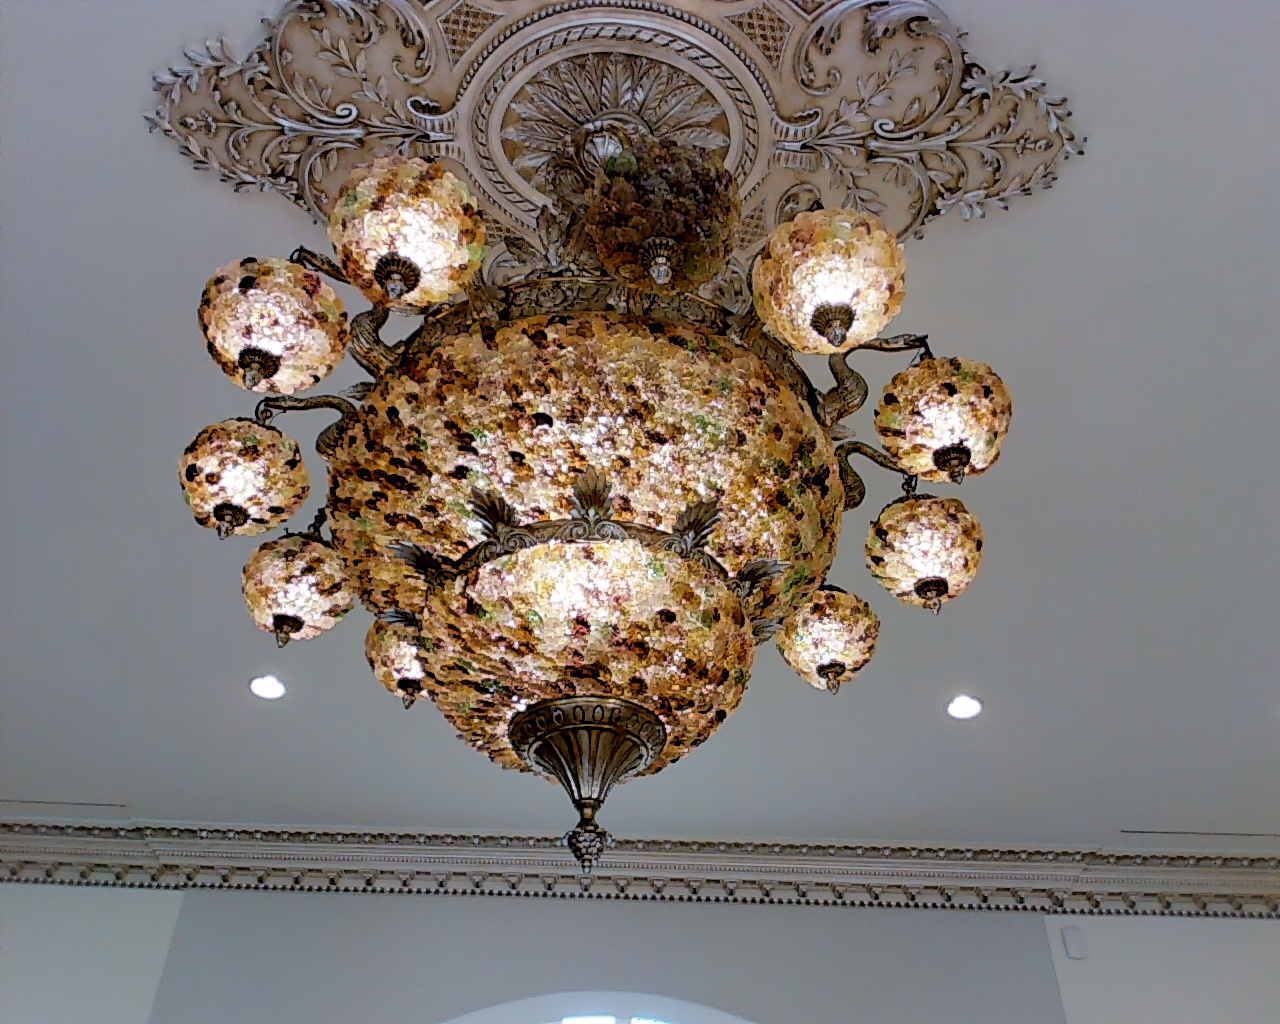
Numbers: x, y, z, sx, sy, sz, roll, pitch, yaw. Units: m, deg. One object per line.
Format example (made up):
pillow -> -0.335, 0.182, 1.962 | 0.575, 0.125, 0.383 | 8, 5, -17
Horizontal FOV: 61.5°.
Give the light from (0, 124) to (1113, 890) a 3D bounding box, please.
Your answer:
light -> -0.080, -0.010, 1.410 | 0.980, 0.740, 0.650 | 1, -42, 1
